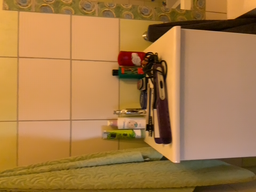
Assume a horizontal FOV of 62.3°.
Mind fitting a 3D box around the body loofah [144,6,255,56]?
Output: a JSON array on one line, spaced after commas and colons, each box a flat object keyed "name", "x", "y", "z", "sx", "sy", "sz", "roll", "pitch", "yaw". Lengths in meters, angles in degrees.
[{"name": "body loofah", "x": 0.420, "y": -0.270, "z": 0.940, "sx": 0.140, "sy": 0.680, "sz": 0.130, "roll": 166, "pitch": 104, "yaw": -78}]

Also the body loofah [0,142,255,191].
[{"name": "body loofah", "x": -0.070, "y": 0.270, "z": 0.780, "sx": 0.210, "sy": 1.110, "sz": 0.130, "roll": 169, "pitch": 101, "yaw": -78}]
